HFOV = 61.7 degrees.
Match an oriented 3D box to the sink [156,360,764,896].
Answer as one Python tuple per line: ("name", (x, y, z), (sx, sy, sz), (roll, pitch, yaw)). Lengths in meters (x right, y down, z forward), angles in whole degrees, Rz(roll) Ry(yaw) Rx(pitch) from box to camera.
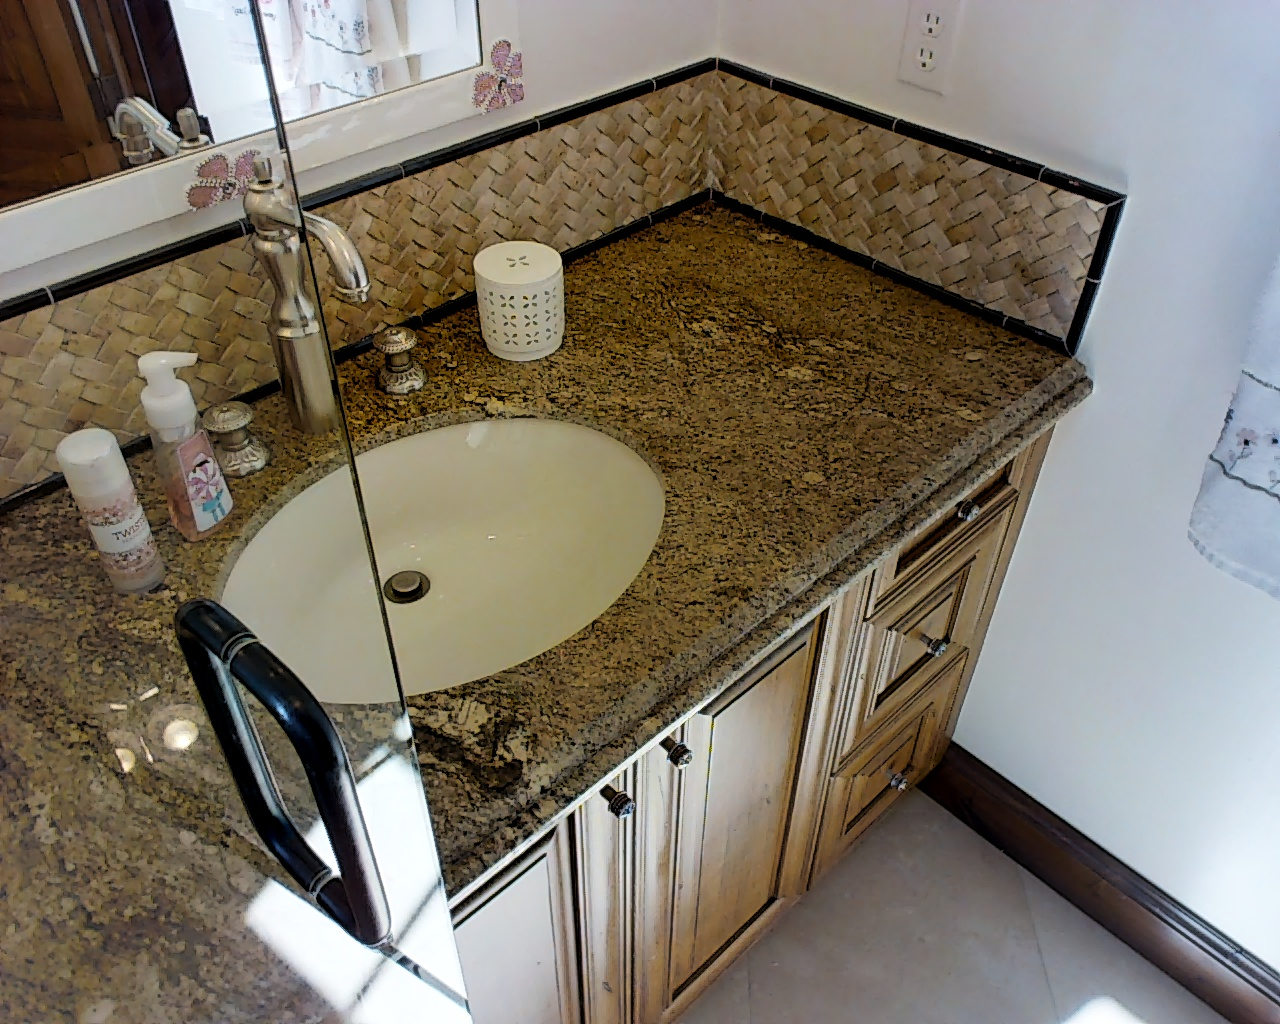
("sink", (-0.170, 0.080, 1.110), (0.470, 0.180, 0.360), (-32, 51, -31))

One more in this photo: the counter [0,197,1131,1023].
("counter", (-0.180, 0.020, 1.070), (1.450, 0.020, 0.670), (-32, 51, -31))

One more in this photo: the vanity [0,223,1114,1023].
("vanity", (-0.180, 0.370, 1.360), (1.440, 0.870, 0.640), (-32, 51, -31))
